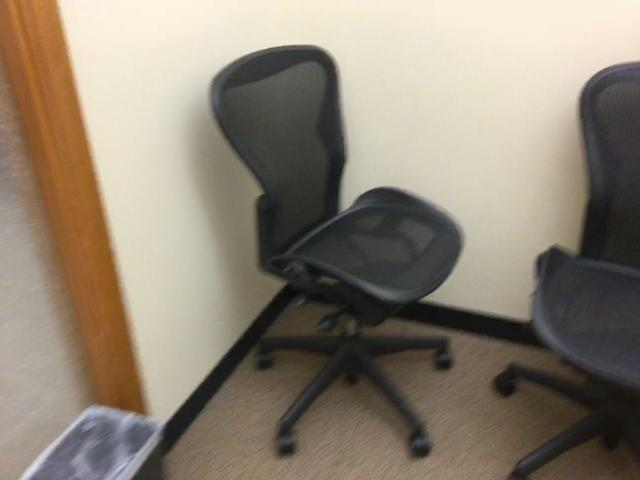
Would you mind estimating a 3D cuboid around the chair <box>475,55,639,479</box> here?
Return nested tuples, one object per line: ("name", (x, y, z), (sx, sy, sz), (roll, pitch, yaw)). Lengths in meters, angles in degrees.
("chair", (0.830, 0.120, 1.430), (0.660, 1.010, 0.660), (10, 28, 28))

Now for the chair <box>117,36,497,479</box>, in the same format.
("chair", (0.040, 0.000, 1.710), (0.710, 1.060, 0.730), (10, 28, 27))
